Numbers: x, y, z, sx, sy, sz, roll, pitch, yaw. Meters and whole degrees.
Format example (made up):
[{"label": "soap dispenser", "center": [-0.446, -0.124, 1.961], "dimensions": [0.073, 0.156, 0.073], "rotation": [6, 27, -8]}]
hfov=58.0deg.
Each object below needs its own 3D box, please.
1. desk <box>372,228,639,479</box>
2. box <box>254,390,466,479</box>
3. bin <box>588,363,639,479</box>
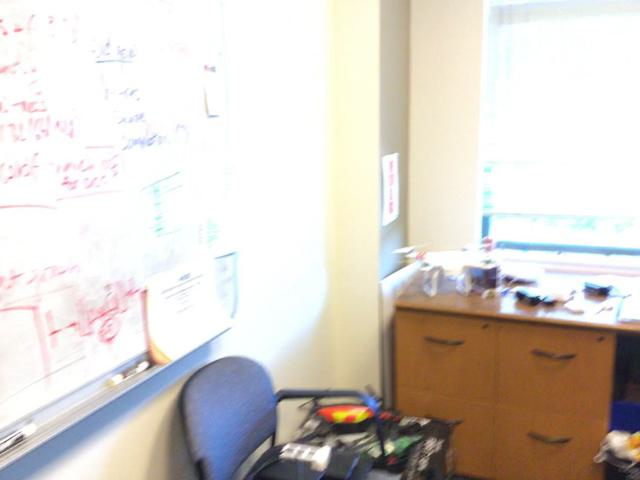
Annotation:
[{"label": "desk", "center": [0.990, 0.470, 2.380], "dimensions": [1.350, 0.880, 0.850], "rotation": [2, 11, 21]}, {"label": "box", "center": [0.180, 0.850, 2.060], "dimensions": [0.590, 0.320, 0.620], "rotation": [2, 11, 21]}, {"label": "bin", "center": [1.160, 0.710, 2.110], "dimensions": [0.280, 0.340, 0.460], "rotation": [2, 11, 21]}]
